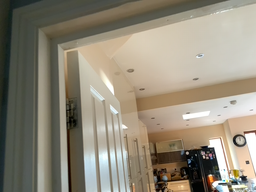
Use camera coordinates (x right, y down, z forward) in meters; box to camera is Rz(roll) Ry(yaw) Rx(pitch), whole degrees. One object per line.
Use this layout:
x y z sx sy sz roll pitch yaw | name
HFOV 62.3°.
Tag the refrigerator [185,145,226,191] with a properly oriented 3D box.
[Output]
2.400 2.500 6.610 0.900 1.760 0.740 -11 -18 12 | refrigerator
